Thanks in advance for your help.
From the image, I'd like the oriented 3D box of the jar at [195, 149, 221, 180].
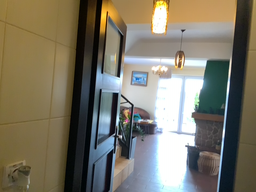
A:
[{"bbox_3d":[1.660,1.410,4.420,0.450,0.450,0.330,6,1,22],"label":"jar"}]
